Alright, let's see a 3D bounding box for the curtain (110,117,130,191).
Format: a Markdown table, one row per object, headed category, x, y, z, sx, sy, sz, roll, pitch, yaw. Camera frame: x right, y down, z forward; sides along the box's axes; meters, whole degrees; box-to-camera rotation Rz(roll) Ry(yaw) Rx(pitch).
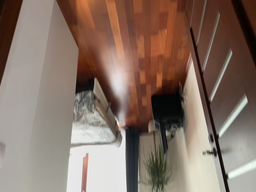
| category | x | y | z | sx | sy | sz | roll | pitch | yaw |
| --- | --- | --- | --- | --- | --- | --- | --- | --- | --- |
| curtain | -0.130 | 1.770 | 3.820 | 0.310 | 2.840 | 0.290 | -5 | 154 | 4 |
